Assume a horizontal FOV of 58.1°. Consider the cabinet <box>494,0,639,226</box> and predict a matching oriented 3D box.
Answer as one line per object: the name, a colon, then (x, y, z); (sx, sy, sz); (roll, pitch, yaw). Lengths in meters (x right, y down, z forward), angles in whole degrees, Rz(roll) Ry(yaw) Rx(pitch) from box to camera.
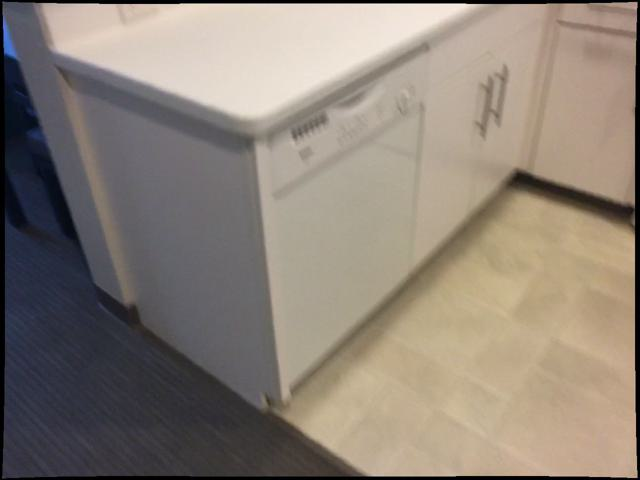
cabinet: (0.997, -0.531, 2.180); (0.539, 0.901, 0.090); (23, 44, 30)
